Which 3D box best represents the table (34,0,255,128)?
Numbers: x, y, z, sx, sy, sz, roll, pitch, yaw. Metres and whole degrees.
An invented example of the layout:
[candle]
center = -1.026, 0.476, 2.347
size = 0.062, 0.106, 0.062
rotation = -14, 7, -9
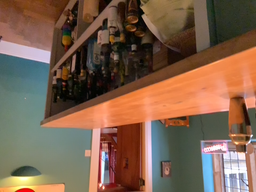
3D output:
[table]
center = -0.090, -0.400, 1.580
size = 0.620, 1.110, 2.140
rotation = 9, 164, -33
